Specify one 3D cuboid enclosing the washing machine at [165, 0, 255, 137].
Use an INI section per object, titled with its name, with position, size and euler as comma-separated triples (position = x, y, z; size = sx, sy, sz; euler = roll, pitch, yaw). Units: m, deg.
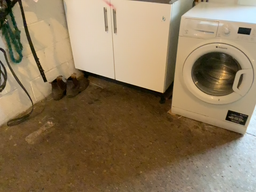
[washing machine]
position = 0.750, -0.280, 1.730
size = 0.610, 0.820, 0.670
euler = 17, 40, 23
